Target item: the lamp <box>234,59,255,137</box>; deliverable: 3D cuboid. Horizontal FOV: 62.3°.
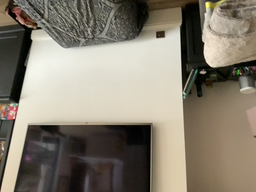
[{"bbox_3d":[1.180,0.030,1.840,0.330,0.600,0.360,-2,161,13],"label":"lamp"}]
